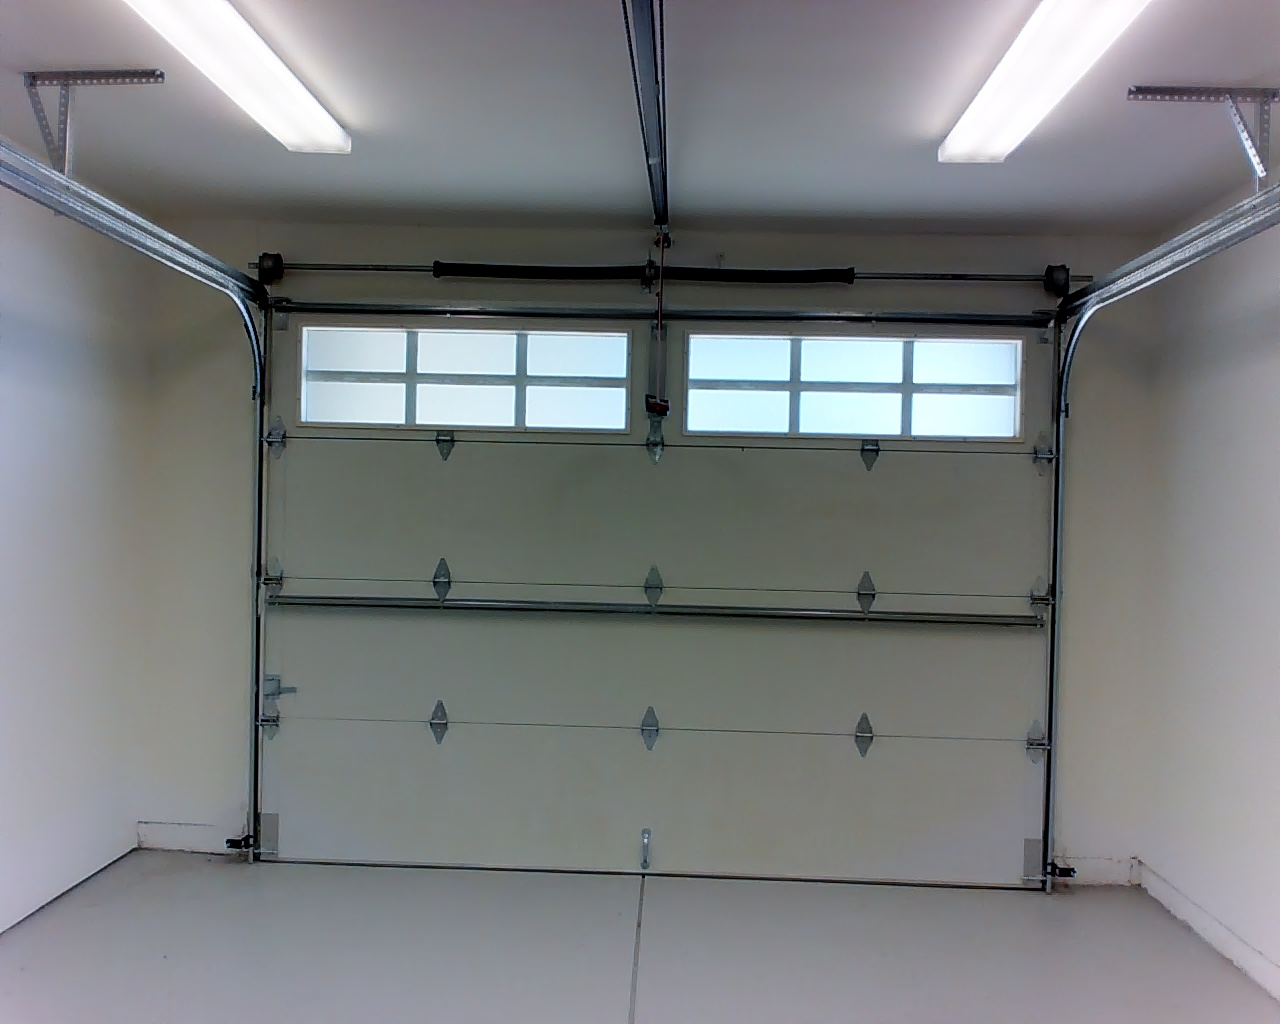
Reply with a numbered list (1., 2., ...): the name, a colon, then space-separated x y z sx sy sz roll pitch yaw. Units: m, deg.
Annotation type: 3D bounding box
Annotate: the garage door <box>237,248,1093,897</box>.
1. garage door: 0.080 0.240 4.670 3.580 2.660 0.150 2 0 2
